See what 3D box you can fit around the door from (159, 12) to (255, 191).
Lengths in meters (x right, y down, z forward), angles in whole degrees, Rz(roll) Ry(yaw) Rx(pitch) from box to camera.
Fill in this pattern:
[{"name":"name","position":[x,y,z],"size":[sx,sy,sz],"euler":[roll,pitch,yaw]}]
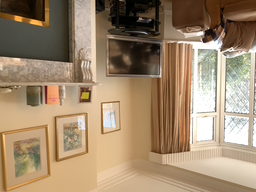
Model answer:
[{"name":"door","position":[2.030,0.070,2.900],"size":[2.930,2.140,1.300],"euler":[3,-175,41]}]

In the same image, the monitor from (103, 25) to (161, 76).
[{"name":"monitor","position":[0.080,-0.630,3.050],"size":[0.900,0.670,0.040],"euler":[-2,-175,-26]}]

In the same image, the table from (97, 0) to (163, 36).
[{"name":"table","position":[0.030,-1.210,3.140],"size":[0.850,0.480,0.460],"euler":[-2,-175,-27]}]
